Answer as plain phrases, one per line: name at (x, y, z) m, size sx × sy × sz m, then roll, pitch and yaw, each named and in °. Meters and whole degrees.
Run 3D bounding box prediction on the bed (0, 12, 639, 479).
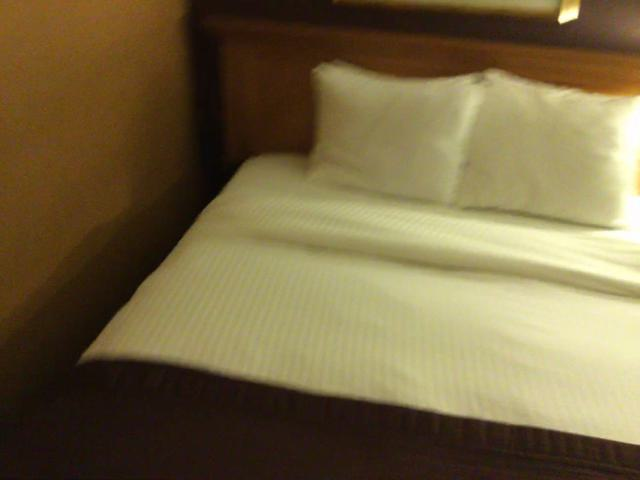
bed at (0.200, 0.280, 1.350) m, size 1.850 × 1.350 × 2.100 m, roll 8°, pitch 25°, yaw 13°
